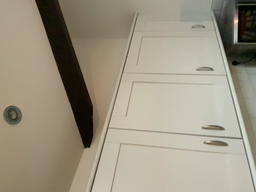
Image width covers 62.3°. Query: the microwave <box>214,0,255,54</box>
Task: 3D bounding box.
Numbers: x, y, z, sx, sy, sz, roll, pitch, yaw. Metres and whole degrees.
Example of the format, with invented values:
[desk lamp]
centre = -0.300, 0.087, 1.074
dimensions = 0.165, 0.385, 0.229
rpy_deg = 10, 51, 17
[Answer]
[microwave]
centre = 1.020, -0.680, 1.940
dimensions = 0.510, 0.290, 0.510
rpy_deg = -24, -64, -80
